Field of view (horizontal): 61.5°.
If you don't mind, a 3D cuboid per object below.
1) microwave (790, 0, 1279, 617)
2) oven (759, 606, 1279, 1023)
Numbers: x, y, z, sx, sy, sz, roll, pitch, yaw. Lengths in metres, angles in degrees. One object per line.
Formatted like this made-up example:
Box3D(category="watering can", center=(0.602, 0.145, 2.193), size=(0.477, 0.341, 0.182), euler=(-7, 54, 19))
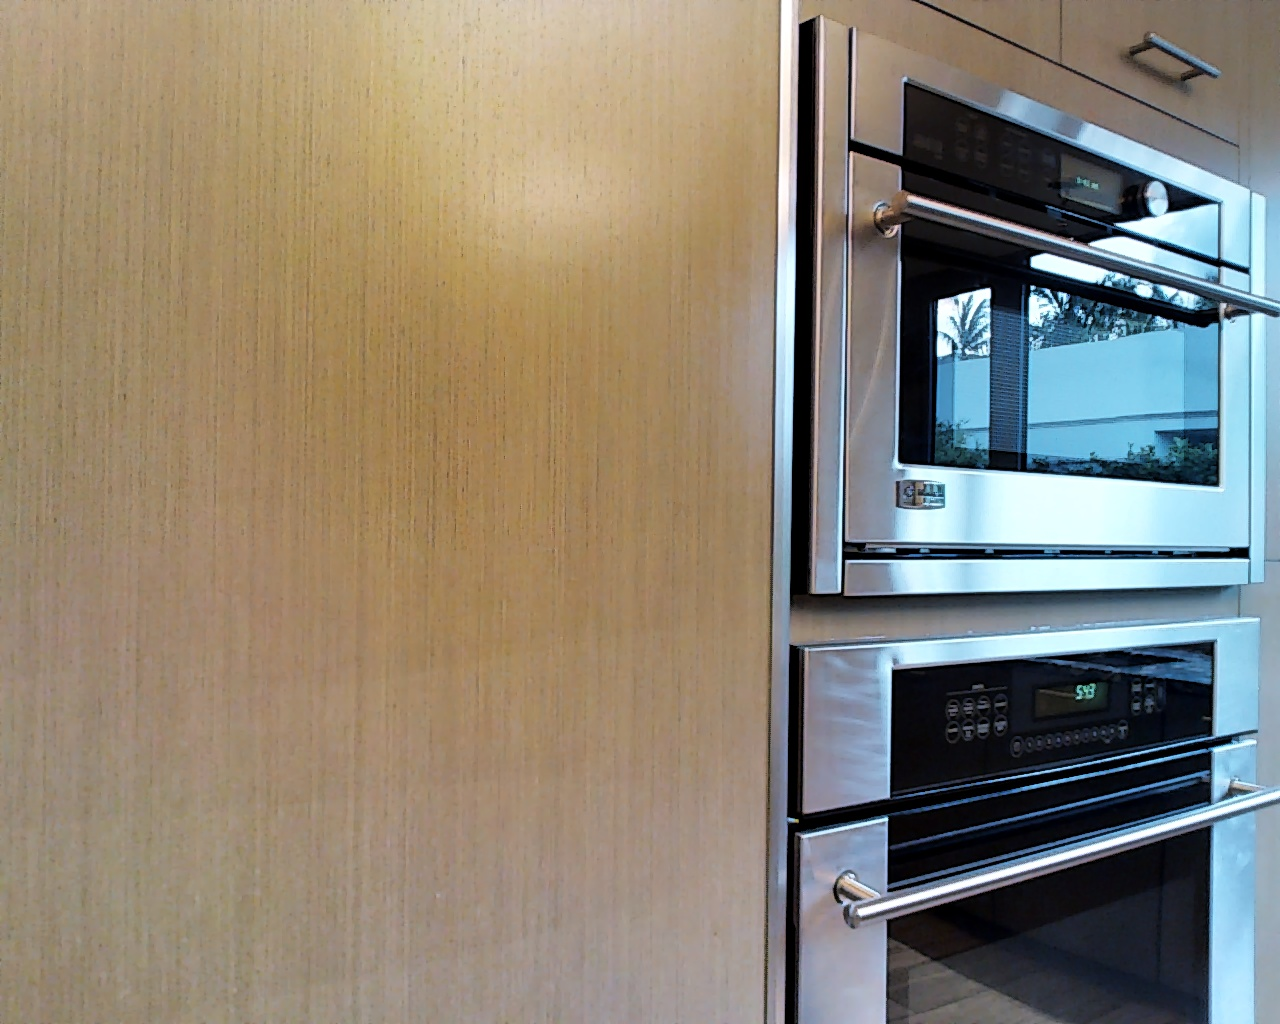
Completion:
Box3D(category="microwave", center=(0.460, -0.160, 1.090), size=(0.780, 0.500, 0.050), euler=(1, -1, -35))
Box3D(category="oven", center=(0.440, 0.460, 1.100), size=(0.790, 0.700, 0.060), euler=(1, -1, -35))
